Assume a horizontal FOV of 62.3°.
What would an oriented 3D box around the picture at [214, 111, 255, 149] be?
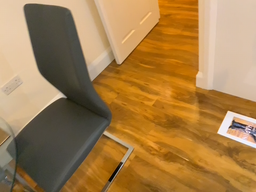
[{"bbox_3d":[0.750,0.220,1.390,0.290,0.001,0.200,21,57,32],"label":"picture"}]
